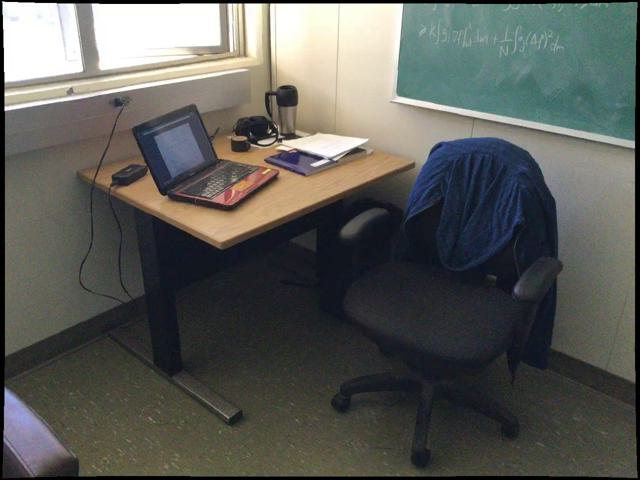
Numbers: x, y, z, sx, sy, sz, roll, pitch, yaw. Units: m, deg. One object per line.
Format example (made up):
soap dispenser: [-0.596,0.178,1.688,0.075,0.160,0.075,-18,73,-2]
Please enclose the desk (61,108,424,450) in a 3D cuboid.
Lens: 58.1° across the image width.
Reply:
desk: [-0.249,0.030,2.230,0.839,0.772,0.979,21,33,36]
